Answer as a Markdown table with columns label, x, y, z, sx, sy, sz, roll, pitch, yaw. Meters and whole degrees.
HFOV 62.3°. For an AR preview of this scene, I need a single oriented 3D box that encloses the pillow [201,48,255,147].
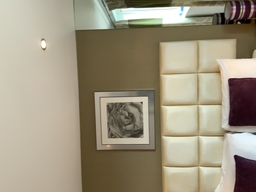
| label | x | y | z | sx | sy | sz | roll | pitch | yaw |
| --- | --- | --- | --- | --- | --- | --- | --- | --- | --- |
| pillow | 1.000 | 0.010 | 1.790 | 0.180 | 0.430 | 0.680 | -69 | 4 | -84 |

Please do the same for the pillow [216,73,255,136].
| label | x | y | z | sx | sy | sz | roll | pitch | yaw |
| --- | --- | --- | --- | --- | --- | --- | --- | --- | --- |
| pillow | 0.990 | 0.080 | 1.710 | 0.140 | 0.370 | 0.420 | -65 | -6 | -80 |

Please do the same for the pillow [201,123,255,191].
| label | x | y | z | sx | sy | sz | roll | pitch | yaw |
| --- | --- | --- | --- | --- | --- | --- | --- | --- | --- |
| pillow | 1.020 | 0.620 | 1.830 | 0.570 | 0.460 | 0.250 | -59 | 1 | 8 |
